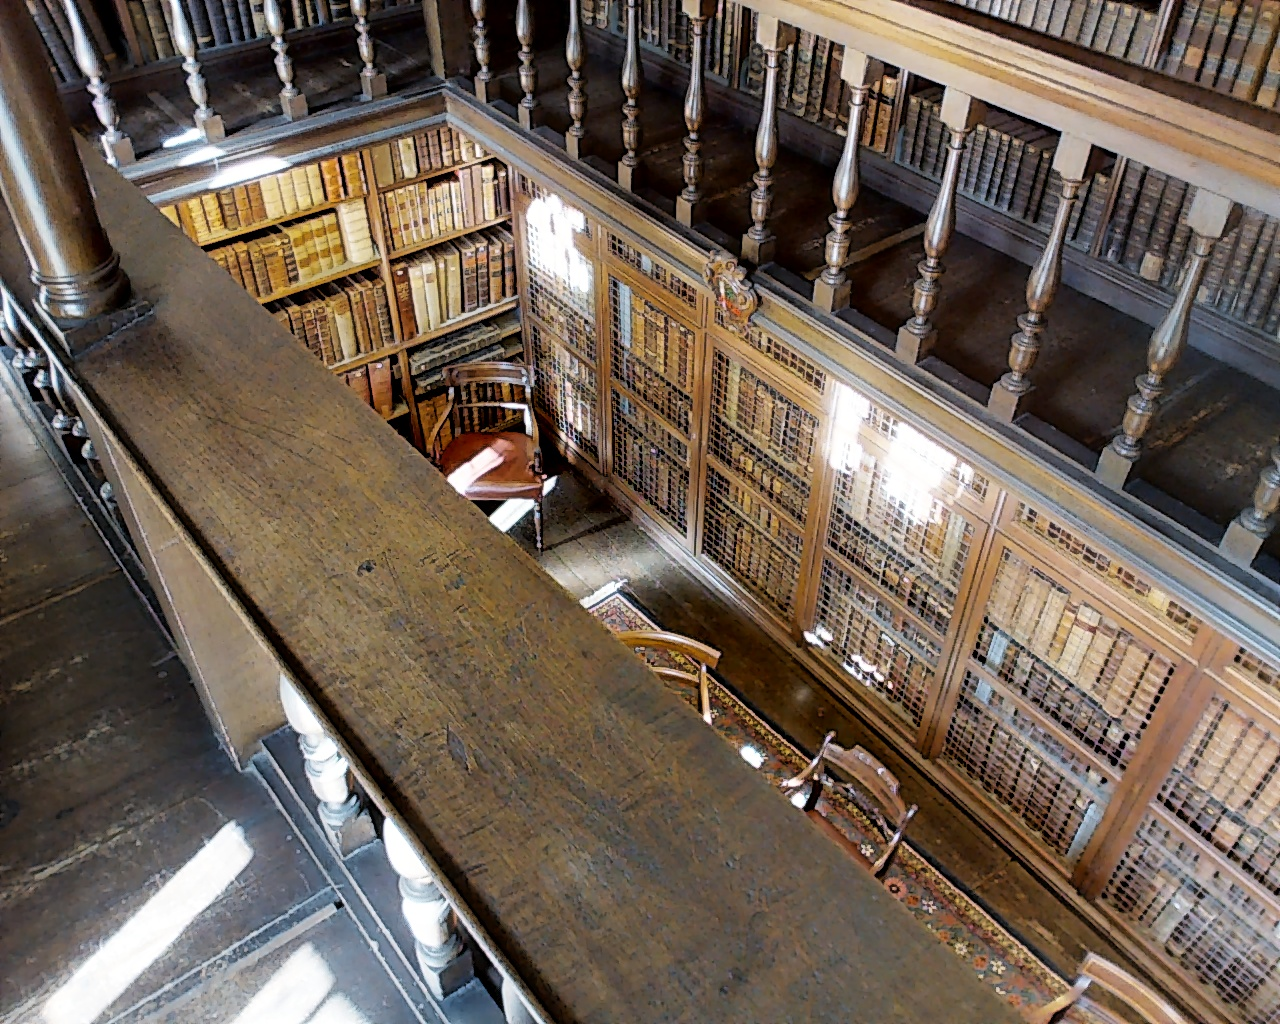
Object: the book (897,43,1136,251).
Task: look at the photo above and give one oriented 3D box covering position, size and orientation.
[{"bbox_3d":[1.100,-1.110,3.240,0.100,0.380,0.700,-26,48,-26],"label":"book"}]
